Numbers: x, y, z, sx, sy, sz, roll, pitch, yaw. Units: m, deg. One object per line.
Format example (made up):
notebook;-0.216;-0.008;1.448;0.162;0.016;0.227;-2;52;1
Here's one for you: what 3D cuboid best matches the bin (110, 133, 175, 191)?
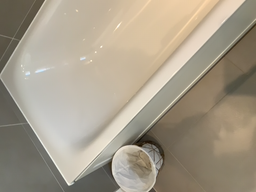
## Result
bin;0.090;0.380;1.200;0.200;0.260;0.220;-47;71;18
